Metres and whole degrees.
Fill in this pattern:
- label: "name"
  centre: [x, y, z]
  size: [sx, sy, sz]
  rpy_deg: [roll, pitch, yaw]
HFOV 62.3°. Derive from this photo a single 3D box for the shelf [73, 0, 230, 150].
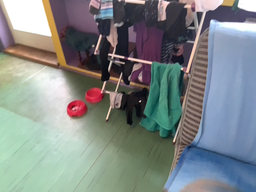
- label: "shelf"
  centre: [0.160, -0.230, 1.420]
  size: [0.740, 0.940, 0.460]
  rpy_deg: [17, 44, 23]
